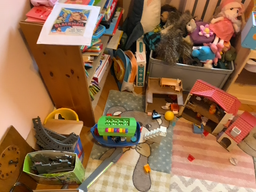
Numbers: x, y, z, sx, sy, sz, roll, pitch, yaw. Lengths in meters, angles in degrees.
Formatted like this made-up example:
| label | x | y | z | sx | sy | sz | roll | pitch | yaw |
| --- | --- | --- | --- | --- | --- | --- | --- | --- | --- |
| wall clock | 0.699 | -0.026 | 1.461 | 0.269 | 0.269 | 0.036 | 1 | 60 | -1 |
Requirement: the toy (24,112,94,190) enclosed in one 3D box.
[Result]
| label | x | y | z | sx | sy | sz | roll | pitch | yaw |
| --- | --- | --- | --- | --- | --- | --- | --- | --- | --- |
| toy | -0.390 | 0.330 | 1.300 | 0.260 | 0.230 | 0.370 | 7 | 52 | 4 |

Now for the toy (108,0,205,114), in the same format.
| label | x | y | z | sx | sy | sz | roll | pitch | yaw |
| --- | --- | --- | --- | --- | --- | --- | --- | --- | --- |
| toy | 0.210 | -0.360 | 1.620 | 0.540 | 0.640 | 0.670 | 10 | 53 | 6 |

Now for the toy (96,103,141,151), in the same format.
| label | x | y | z | sx | sy | sz | roll | pitch | yaw |
| --- | --- | --- | --- | --- | --- | --- | --- | --- | --- |
| toy | -0.060 | 0.210 | 1.440 | 0.270 | 0.200 | 0.260 | 1 | 52 | -1 |
